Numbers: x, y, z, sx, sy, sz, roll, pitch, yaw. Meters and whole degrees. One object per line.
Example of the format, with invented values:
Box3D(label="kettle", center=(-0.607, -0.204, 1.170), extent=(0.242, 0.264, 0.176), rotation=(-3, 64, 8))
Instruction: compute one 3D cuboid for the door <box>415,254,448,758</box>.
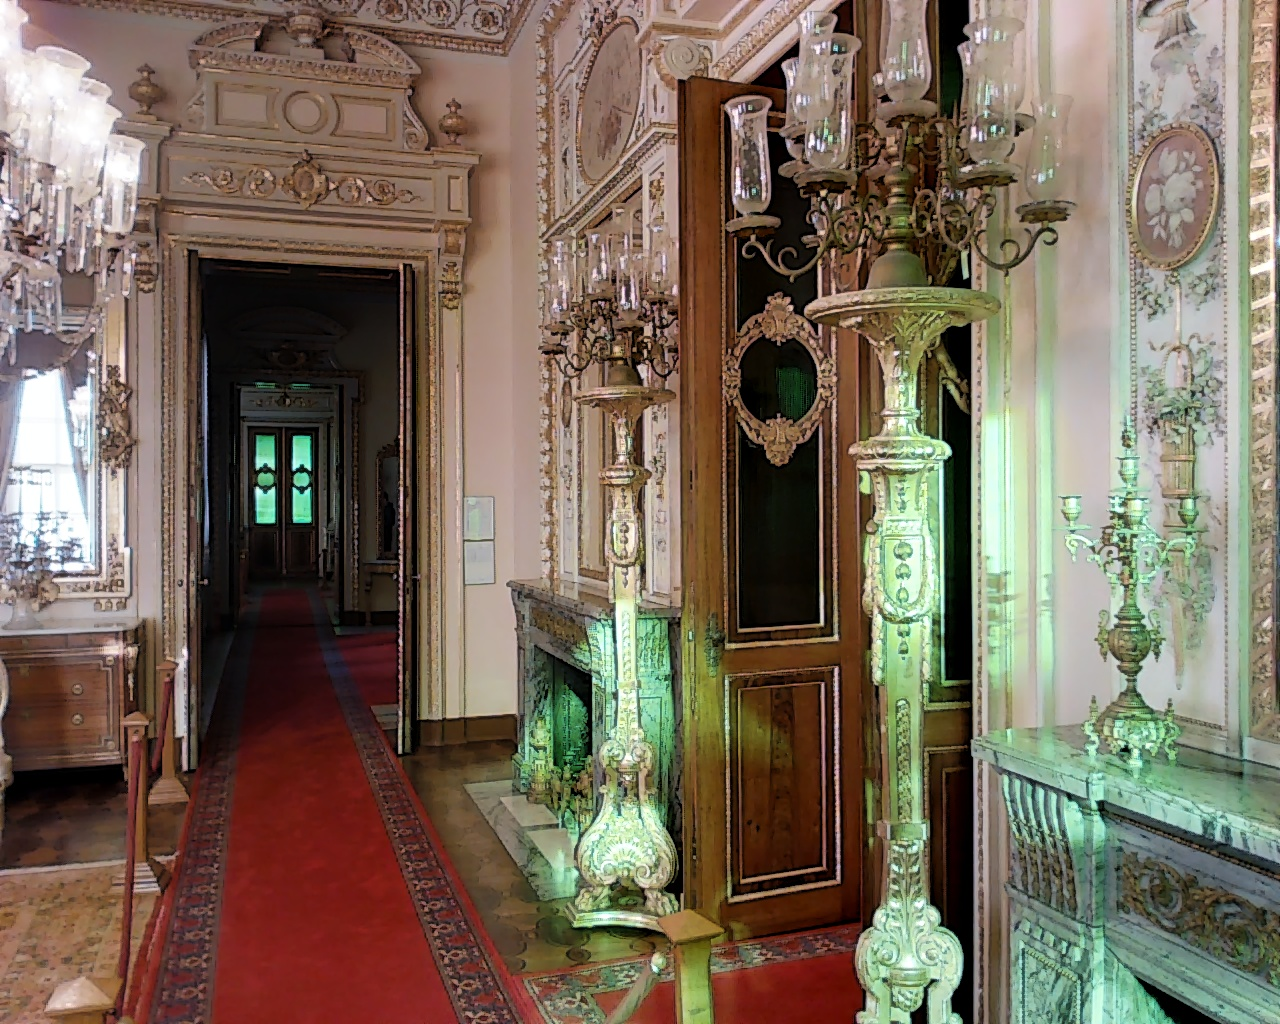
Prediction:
Box3D(label="door", center=(-1.419, -0.040, 7.320), extent=(0.190, 3.341, 0.350), rotation=(0, 1, -14))

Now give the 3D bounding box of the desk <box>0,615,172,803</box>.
Box3D(label="desk", center=(-3.538, 1.161, 6.460), extent=(1.269, 0.980, 0.600), rotation=(0, 1, -18))

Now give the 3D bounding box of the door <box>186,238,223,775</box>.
Box3D(label="door", center=(-2.769, -0.030, 6.850), extent=(0.180, 3.341, 0.280), rotation=(0, 1, -18))
